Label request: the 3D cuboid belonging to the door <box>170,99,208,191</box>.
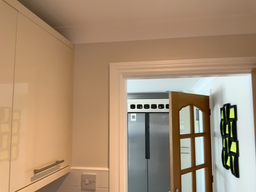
[{"bbox_3d":[0.670,1.030,2.240,0.040,1.950,0.750,-4,-7,43],"label":"door"}]
